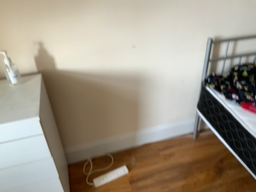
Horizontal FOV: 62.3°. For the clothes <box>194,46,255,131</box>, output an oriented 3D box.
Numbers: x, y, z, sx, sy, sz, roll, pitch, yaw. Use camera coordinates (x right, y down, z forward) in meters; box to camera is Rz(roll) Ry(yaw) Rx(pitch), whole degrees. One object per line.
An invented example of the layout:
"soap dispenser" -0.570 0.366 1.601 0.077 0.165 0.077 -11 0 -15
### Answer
"clothes" 0.910 -0.110 1.390 0.660 0.190 0.620 -11 35 -13
